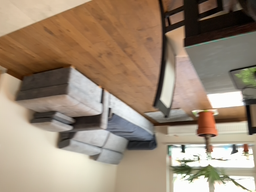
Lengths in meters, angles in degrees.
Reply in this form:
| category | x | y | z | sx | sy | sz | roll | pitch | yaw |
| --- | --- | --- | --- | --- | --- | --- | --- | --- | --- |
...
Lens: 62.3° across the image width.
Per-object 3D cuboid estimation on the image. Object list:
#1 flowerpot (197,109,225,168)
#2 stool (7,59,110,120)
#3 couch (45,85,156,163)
| category | x | y | z | sx | sy | sz | roll | pitch | yaw |
| --- | --- | --- | --- | --- | --- | --- | --- | --- | --- |
| flowerpot | 1.530 | 0.800 | 3.990 | 0.390 | 1.010 | 0.440 | -3 | 158 | 16 |
| stool | -0.980 | -0.020 | 3.150 | 1.060 | 0.480 | 0.910 | -7 | 156 | 25 |
| couch | -0.330 | 0.740 | 4.310 | 1.050 | 0.950 | 2.300 | -7 | 156 | 26 |
